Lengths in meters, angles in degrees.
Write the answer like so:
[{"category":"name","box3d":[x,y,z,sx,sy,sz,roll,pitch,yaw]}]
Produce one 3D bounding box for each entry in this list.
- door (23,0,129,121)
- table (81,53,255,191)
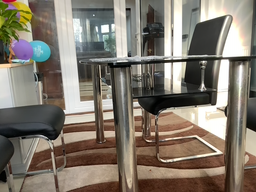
[{"category":"door","box3d":[-0.630,-0.830,2.730,1.220,2.220,0.100,-5,12,-15]},{"category":"table","box3d":[0.110,0.120,1.370,0.730,0.740,1.210,-5,12,-13]}]
